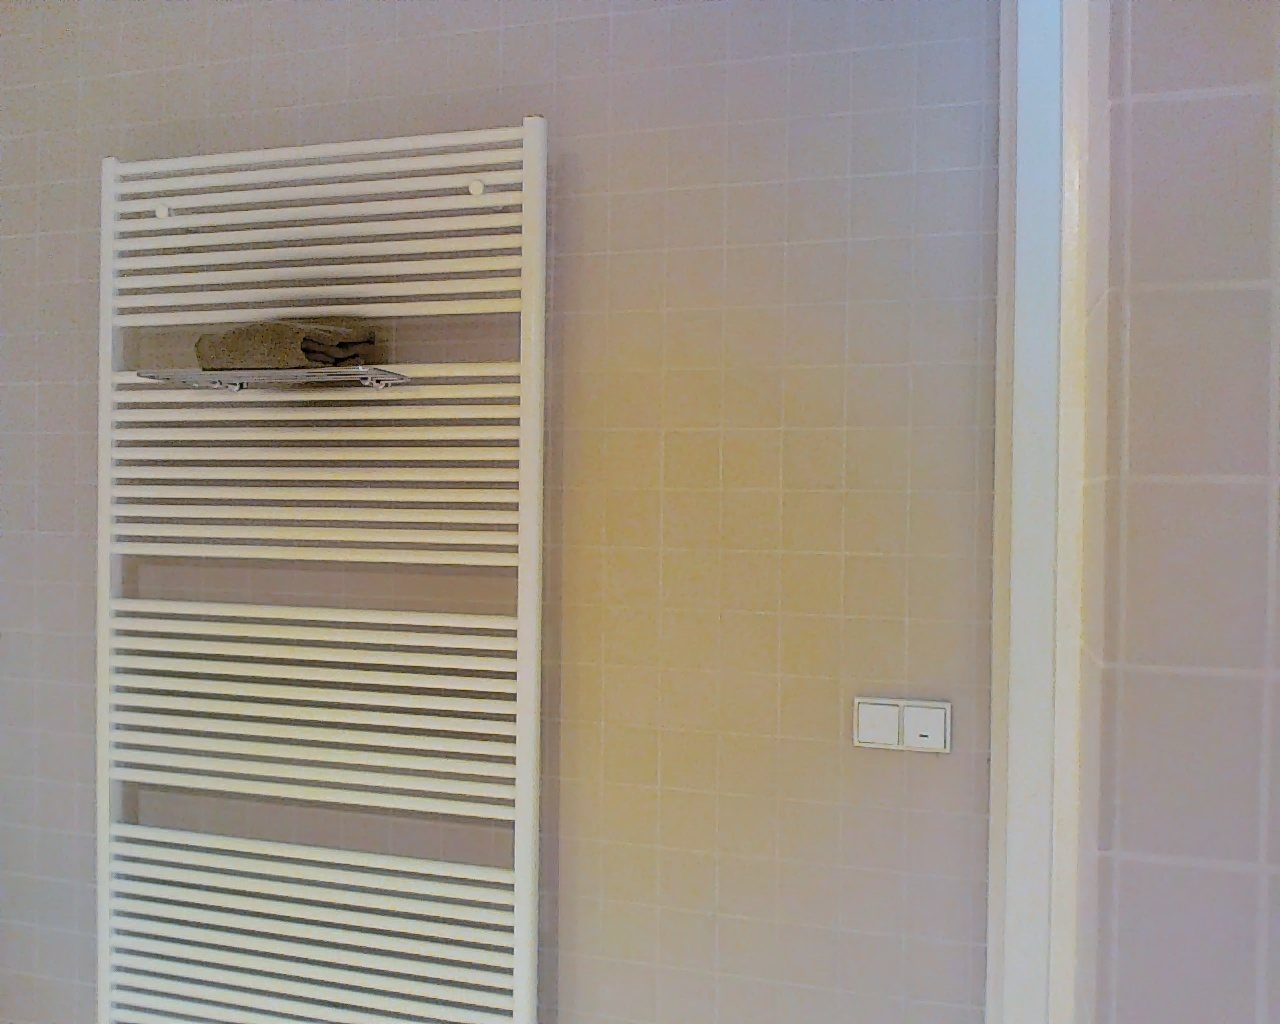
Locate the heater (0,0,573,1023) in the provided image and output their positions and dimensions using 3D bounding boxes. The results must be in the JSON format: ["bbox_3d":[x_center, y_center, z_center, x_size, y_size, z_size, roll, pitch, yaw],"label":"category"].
[{"bbox_3d":[-0.630,0.240,1.880,0.940,2.030,0.340,1,1,16],"label":"heater"}]
